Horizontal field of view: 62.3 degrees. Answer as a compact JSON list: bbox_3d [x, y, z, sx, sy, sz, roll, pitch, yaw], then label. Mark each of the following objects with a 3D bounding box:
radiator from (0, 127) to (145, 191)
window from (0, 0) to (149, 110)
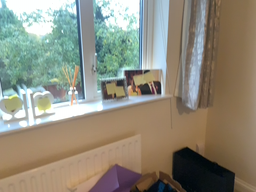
[{"bbox_3d":[-0.360,0.600,1.360,1.160,0.520,0.090,-12,19,-35],"label":"radiator"},{"bbox_3d":[-0.520,-0.490,1.320,1.690,1.060,0.080,-12,19,-36],"label":"window"}]
